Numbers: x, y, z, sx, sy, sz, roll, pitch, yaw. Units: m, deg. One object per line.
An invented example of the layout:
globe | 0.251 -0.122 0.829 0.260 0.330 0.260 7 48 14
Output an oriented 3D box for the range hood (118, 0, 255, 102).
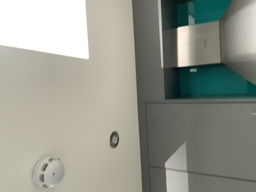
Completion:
range hood | 0.400 -0.310 1.250 0.500 0.730 0.640 -8 -84 -60
